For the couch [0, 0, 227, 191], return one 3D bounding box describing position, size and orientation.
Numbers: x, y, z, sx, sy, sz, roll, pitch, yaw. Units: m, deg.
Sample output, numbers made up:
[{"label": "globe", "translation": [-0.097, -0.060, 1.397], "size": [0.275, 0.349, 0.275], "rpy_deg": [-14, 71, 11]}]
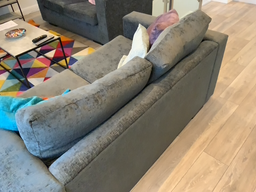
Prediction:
[{"label": "couch", "translation": [-0.160, -0.020, 1.530], "size": [0.920, 0.810, 1.650], "rpy_deg": [27, 49, 31]}]
